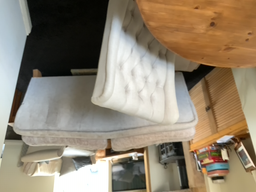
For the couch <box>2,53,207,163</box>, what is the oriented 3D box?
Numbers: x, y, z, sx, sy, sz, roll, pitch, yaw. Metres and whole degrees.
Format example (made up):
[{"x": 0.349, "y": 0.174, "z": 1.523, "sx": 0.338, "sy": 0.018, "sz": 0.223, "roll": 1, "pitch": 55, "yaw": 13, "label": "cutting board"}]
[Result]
[{"x": -0.210, "y": 0.210, "z": 2.490, "sx": 1.760, "sy": 0.910, "sz": 1.040, "roll": -2, "pitch": 154, "yaw": -1, "label": "couch"}]

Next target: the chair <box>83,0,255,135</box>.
[{"x": 0.220, "y": -0.430, "z": 1.050, "sx": 0.520, "sy": 1.040, "sz": 0.680, "roll": 22, "pitch": 146, "yaw": -40, "label": "chair"}]

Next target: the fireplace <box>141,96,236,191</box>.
[{"x": 0.850, "y": 1.110, "z": 3.700, "sx": 0.620, "sy": 1.550, "sz": 1.800, "roll": 5, "pitch": 153, "yaw": -15, "label": "fireplace"}]

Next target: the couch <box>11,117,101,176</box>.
[{"x": -1.370, "y": 1.120, "z": 4.360, "sx": 1.100, "sy": 0.850, "sz": 1.280, "roll": -12, "pitch": 152, "yaw": 20, "label": "couch"}]
